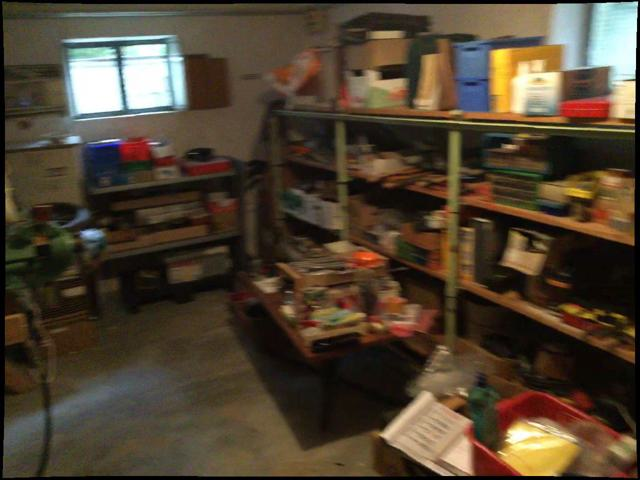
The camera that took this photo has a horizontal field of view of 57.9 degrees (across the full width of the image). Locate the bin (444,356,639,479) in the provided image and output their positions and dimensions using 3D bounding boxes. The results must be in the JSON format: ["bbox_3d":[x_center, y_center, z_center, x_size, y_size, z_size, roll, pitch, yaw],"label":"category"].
[{"bbox_3d":[0.649,0.631,1.640,0.410,0.350,0.420,-12,20,-24],"label":"bin"}]
